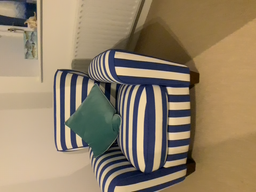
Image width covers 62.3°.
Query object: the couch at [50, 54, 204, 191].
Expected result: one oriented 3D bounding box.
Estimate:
[{"bbox_3d":[-0.110,0.190,1.630,0.930,0.840,0.900,-165,75,-65],"label":"couch"}]
